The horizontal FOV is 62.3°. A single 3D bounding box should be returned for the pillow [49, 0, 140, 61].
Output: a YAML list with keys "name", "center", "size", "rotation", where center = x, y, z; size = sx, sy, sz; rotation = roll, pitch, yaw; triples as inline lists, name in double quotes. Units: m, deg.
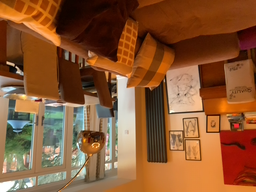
- name: "pillow"
  center: [-0.200, -0.560, 1.470]
  size: [0.160, 0.430, 0.480]
  rotation: [40, 180, 34]

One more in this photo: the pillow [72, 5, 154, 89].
- name: "pillow"
  center: [-0.120, -0.420, 1.850]
  size: [0.470, 0.510, 0.230]
  rotation: [35, 178, -40]

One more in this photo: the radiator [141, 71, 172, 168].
- name: "radiator"
  center: [0.590, 0.470, 4.500]
  size: [0.540, 1.970, 0.130]
  rotation: [-8, 167, 31]

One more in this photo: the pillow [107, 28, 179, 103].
- name: "pillow"
  center: [0.180, -0.320, 2.350]
  size: [0.540, 0.560, 0.280]
  rotation: [42, -179, -43]
